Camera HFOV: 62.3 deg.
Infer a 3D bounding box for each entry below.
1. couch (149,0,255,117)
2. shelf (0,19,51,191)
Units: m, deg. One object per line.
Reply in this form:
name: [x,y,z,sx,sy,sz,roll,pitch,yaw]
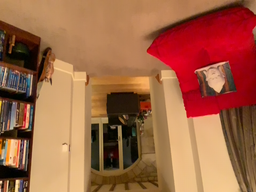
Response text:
couch: [0.980,-0.330,2.470,1.050,0.860,1.080,-12,161,26]
shelf: [-1.410,0.130,1.800,0.340,1.810,1.360,-16,159,36]
